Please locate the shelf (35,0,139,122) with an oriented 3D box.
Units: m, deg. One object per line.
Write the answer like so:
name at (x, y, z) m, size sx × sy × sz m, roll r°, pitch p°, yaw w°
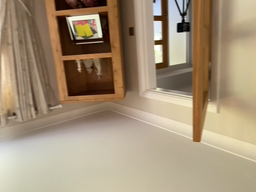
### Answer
shelf at (-0.430, -0.560, 2.250) m, size 0.730 × 1.370 × 0.720 m, roll -14°, pitch -162°, yaw -35°
